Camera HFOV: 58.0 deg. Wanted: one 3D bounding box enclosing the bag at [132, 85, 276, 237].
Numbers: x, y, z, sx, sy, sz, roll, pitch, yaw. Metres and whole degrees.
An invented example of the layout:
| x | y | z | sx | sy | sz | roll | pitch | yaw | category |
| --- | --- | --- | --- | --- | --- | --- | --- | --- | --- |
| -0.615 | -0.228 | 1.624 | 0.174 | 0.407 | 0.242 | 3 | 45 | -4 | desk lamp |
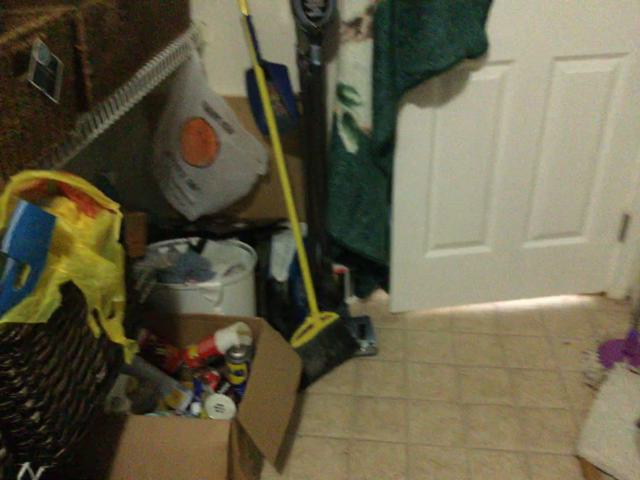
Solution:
| x | y | z | sx | sy | sz | roll | pitch | yaw | category |
| --- | --- | --- | --- | --- | --- | --- | --- | --- | --- |
| -0.340 | -0.240 | 1.790 | 0.340 | 0.430 | 0.160 | 2 | 32 | 9 | bag |

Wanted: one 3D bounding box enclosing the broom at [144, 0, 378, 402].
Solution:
| x | y | z | sx | sy | sz | roll | pitch | yaw | category |
| --- | --- | --- | --- | --- | --- | --- | --- | --- | --- |
| -0.070 | -0.190 | 1.600 | 0.420 | 1.180 | 0.550 | 2 | 32 | 9 | broom |
